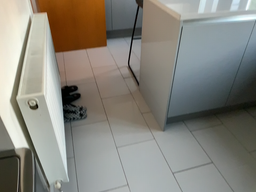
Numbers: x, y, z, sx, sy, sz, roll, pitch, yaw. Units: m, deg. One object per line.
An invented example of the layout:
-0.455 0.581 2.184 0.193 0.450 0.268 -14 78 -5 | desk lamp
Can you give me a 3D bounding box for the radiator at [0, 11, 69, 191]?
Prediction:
-0.550 -0.010 1.420 0.130 0.760 1.150 -9 38 -13 | radiator
